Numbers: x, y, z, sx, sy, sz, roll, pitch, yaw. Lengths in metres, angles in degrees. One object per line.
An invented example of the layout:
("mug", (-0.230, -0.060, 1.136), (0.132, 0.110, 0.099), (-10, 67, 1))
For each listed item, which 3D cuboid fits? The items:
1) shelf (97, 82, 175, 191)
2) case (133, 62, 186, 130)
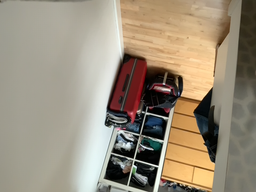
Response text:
("shelf", (0.170, 0.640, 3.300), (0.780, 1.510, 0.550), (12, 160, 9))
("case", (0.390, 0.030, 2.850), (0.520, 0.610, 0.700), (13, 160, 6))
